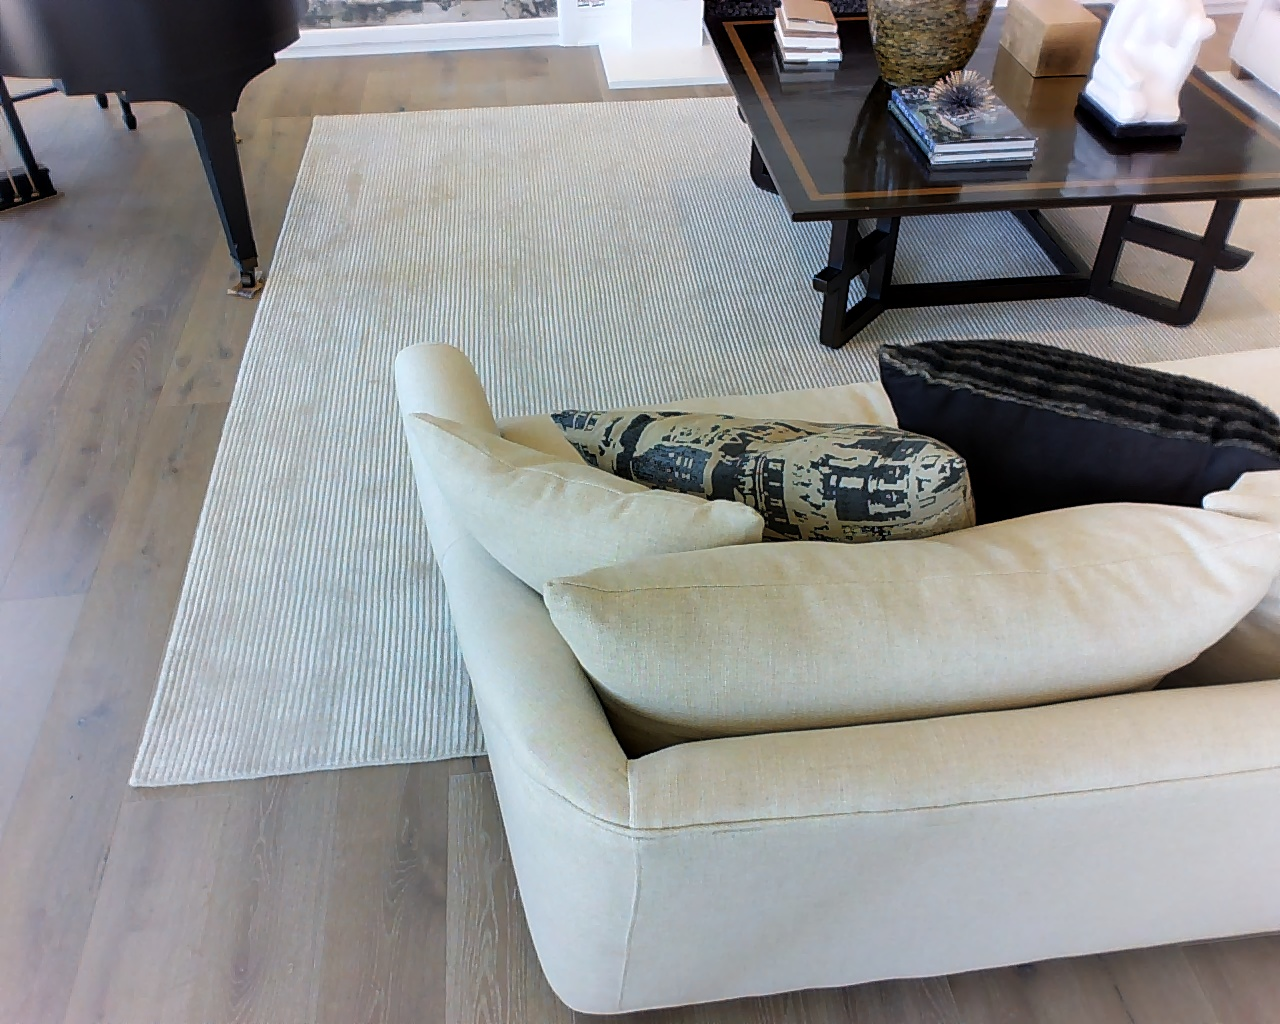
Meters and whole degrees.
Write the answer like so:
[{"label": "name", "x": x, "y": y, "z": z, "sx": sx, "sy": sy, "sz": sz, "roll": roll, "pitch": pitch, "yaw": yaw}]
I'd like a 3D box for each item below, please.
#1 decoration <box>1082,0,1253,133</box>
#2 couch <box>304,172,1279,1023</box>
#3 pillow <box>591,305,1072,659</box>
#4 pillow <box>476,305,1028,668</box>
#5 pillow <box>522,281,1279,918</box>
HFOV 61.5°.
[{"label": "decoration", "x": 1.320, "y": -1.180, "z": 2.720, "sx": 0.220, "sy": 0.320, "sz": 0.280, "roll": -6, "pitch": 42, "yaw": -3}, {"label": "couch", "x": 0.970, "y": 0.120, "z": 1.710, "sx": 2.640, "sy": 0.830, "sz": 1.140, "roll": -6, "pitch": 42, "yaw": -3}, {"label": "pillow", "x": 0.260, "y": -0.050, "z": 1.470, "sx": 0.460, "sy": 0.210, "sz": 0.440, "roll": 11, "pitch": -27, "yaw": 48}, {"label": "pillow", "x": 0.120, "y": -0.040, "z": 1.400, "sx": 0.600, "sy": 0.170, "sz": 0.410, "roll": 8, "pitch": -33, "yaw": 52}, {"label": "pillow", "x": 0.330, "y": 0.160, "z": 1.260, "sx": 0.840, "sy": 0.280, "sz": 0.420, "roll": -26, "pitch": -49, "yaw": 23}]
